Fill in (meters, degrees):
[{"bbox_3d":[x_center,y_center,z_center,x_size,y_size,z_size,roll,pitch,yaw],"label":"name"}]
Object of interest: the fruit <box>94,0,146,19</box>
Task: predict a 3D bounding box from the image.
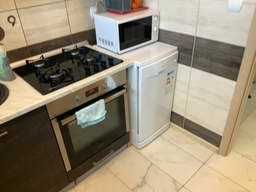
[{"bbox_3d":[-0.070,-0.780,1.770,0.300,0.170,0.310,-29,41,-35],"label":"fruit"}]
